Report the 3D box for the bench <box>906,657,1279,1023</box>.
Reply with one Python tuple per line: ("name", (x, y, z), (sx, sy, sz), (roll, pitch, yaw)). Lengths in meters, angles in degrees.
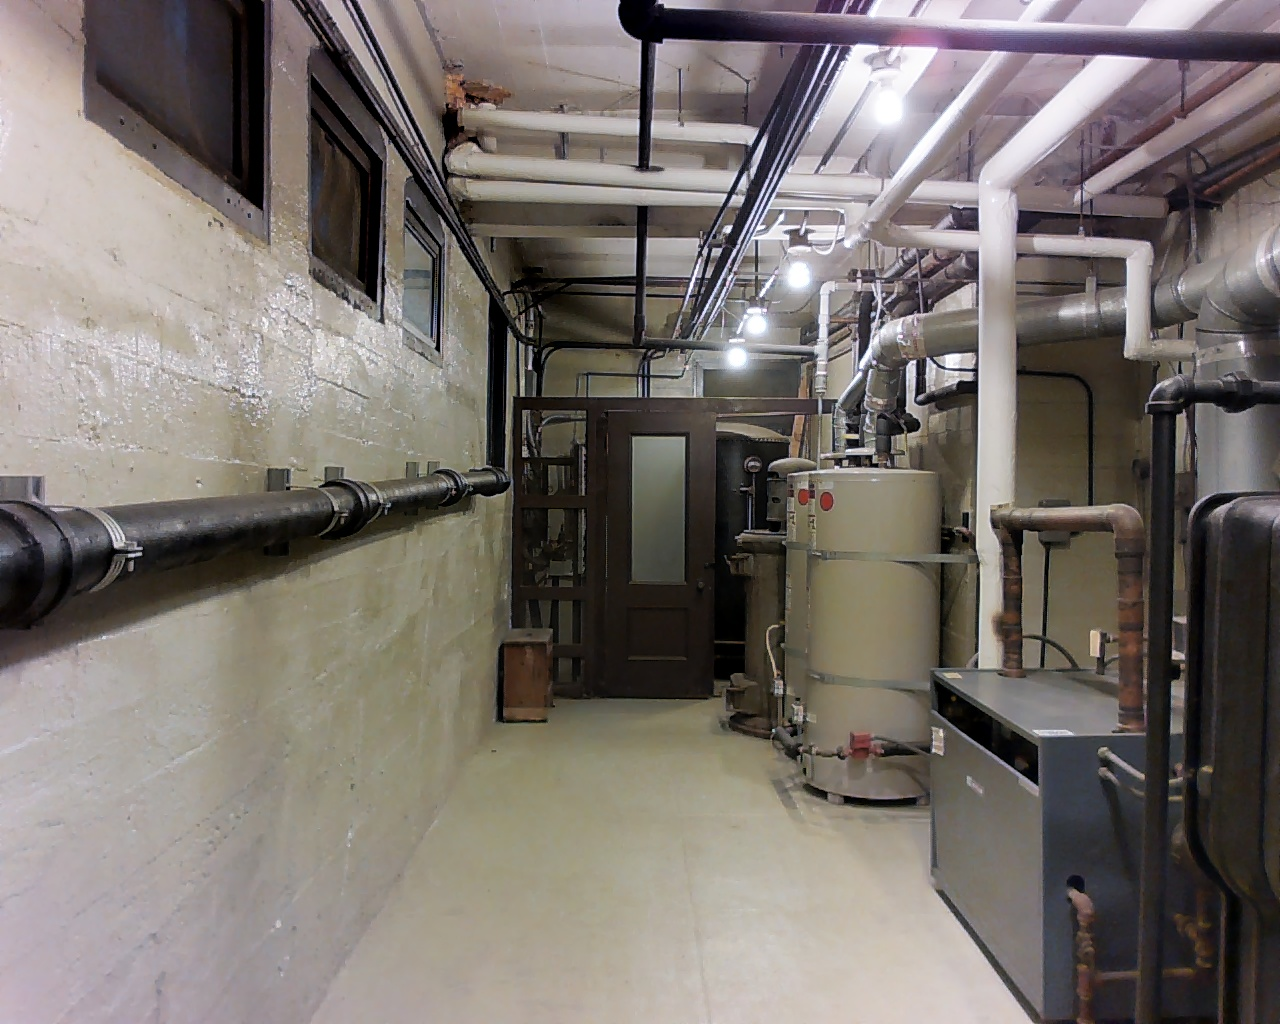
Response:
("bench", (1.690, 1.060, 3.600), (1.120, 0.870, 1.810), (1, 1, -1))
